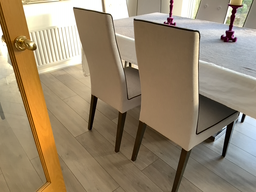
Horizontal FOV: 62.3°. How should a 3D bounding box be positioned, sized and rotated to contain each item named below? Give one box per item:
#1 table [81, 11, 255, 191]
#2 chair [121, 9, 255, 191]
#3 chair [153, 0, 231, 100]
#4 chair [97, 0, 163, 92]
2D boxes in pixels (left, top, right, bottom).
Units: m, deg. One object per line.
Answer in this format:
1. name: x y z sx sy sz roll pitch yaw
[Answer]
1. table: 0.600 -0.190 2.000 1.110 0.780 2.030 -23 38 -34
2. chair: 0.360 0.040 1.390 0.590 1.020 0.540 -25 39 -36
3. chair: 0.700 -0.590 2.440 0.500 1.020 0.590 25 39 35
4. chair: 0.010 -0.670 2.570 0.450 1.020 0.590 -26 40 -37
